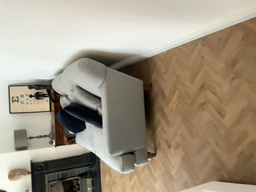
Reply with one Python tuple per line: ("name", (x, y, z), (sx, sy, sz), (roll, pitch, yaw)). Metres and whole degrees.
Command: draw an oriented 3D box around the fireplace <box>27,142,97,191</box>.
("fireplace", (-1.240, 1.740, 3.990), (0.670, 1.120, 1.510), (-8, 85, 62))
